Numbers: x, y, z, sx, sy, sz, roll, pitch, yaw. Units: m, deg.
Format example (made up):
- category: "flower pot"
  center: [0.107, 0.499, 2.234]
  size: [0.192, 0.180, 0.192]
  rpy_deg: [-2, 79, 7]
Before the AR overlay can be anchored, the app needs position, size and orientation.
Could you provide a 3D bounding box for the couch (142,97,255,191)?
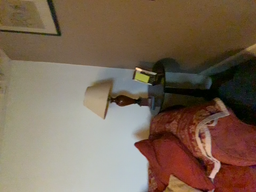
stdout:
- category: "couch"
  center: [0.600, 1.140, 1.620]
  size: [1.050, 0.760, 2.110]
  rpy_deg: [147, 126, -77]
